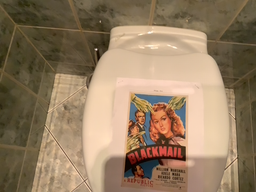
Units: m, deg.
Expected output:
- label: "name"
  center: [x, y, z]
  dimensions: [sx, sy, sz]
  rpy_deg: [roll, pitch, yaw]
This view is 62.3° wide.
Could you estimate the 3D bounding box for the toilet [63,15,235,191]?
- label: "toilet"
  center: [0.060, 0.110, 0.710]
  dimensions: [0.360, 0.460, 0.510]
  rpy_deg: [6, 74, 1]
